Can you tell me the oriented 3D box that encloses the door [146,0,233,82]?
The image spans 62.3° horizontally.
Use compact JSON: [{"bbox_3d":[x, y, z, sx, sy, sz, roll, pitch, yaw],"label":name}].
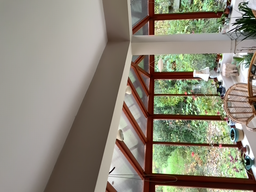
[{"bbox_3d":[1.290,-2.190,4.510,0.160,1.820,4.360,-80,-12,-54],"label":"door"}]
